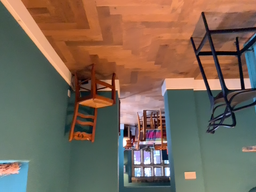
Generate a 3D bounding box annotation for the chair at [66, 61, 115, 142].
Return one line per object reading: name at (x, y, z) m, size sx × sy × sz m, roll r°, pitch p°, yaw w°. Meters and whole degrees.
chair at (-0.510, 0.110, 2.890) m, size 0.500 × 0.980 × 0.410 m, roll -16°, pitch 159°, yaw 41°
